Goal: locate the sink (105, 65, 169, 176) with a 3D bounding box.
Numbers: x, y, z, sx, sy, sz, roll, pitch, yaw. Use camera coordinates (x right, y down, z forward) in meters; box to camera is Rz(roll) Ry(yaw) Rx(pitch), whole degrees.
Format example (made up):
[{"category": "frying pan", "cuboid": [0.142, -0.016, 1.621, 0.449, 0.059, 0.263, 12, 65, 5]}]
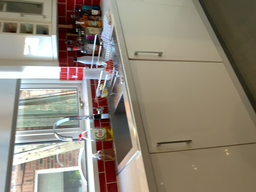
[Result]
[{"category": "sink", "cuboid": [0.010, 0.180, 1.420, 0.530, 0.180, 0.550, 115, 149, -54]}]
